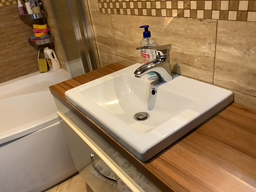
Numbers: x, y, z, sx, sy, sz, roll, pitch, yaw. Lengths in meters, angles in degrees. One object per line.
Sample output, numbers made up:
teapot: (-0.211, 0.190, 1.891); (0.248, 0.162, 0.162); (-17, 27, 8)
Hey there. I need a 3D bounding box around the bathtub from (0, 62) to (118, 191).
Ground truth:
bathtub: (-1.030, 0.360, 1.600); (1.520, 0.590, 1.030); (-25, 34, -29)
